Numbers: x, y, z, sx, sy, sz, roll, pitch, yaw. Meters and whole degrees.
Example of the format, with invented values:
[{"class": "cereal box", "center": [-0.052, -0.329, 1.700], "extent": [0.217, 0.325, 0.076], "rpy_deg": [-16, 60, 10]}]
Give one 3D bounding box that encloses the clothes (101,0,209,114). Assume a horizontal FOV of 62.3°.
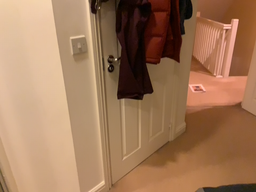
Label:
[{"class": "clothes", "center": [0.220, -0.570, 1.320], "extent": [0.220, 1.130, 0.820], "rpy_deg": [21, 33, 38]}]
